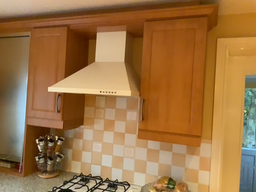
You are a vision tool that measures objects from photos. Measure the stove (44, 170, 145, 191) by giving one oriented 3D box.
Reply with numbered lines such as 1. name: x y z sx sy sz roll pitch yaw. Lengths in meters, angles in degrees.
1. stove: -0.230 0.670 1.510 0.580 0.010 0.570 3 0 19

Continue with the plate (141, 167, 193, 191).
1. plate: 0.280 0.640 1.490 0.320 0.150 0.260 3 0 18
